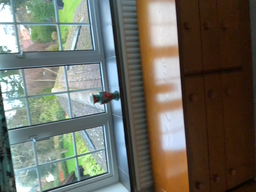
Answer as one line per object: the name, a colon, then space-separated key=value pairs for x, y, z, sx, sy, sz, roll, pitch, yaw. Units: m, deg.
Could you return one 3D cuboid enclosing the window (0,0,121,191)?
window: x=-0.560 y=0.020 z=1.710 sx=0.070 sy=0.870 sz=1.610 roll=4 pitch=102 yaw=65
